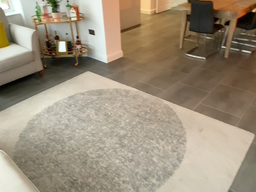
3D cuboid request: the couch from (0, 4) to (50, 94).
[{"bbox_3d":[-1.860,-0.700,3.000,0.990,0.920,0.880,25,41,35],"label":"couch"}]
